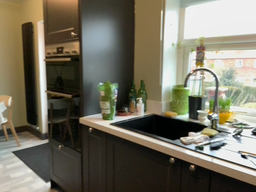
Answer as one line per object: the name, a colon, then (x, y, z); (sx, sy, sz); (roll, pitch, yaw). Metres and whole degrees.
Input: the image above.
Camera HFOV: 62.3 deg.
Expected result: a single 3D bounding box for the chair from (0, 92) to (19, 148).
chair: (-2.100, 0.370, 3.330); (0.550, 0.790, 0.440); (-7, 12, -43)
